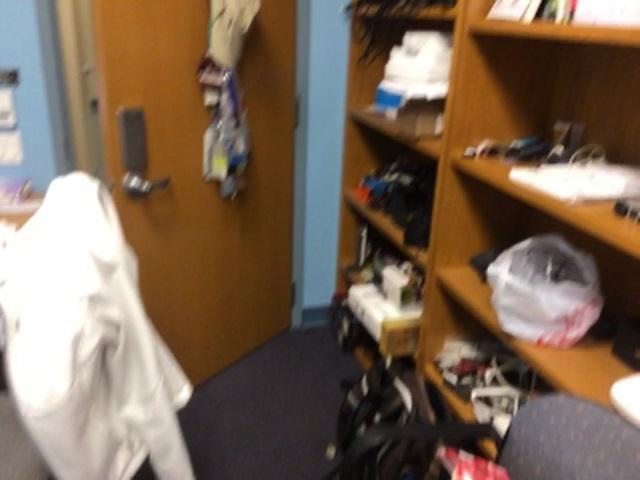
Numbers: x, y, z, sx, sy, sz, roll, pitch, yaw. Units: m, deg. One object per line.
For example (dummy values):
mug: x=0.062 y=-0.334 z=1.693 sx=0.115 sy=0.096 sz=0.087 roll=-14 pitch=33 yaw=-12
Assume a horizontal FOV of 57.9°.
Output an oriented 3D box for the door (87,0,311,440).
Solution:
door: x=-0.360 y=-0.420 z=1.970 sx=0.130 sy=2.080 sz=0.840 roll=17 pitch=22 yaw=32

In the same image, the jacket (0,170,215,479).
jacket: x=-0.430 y=0.240 z=1.100 sx=0.400 sy=0.690 sz=0.310 roll=-2 pitch=20 yaw=-19
